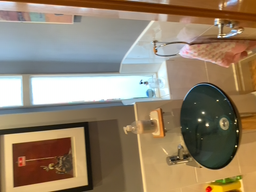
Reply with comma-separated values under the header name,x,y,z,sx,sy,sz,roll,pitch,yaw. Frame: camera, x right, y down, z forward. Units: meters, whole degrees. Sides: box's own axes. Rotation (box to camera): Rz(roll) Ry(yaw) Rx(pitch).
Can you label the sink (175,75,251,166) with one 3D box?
name,x,y,z,sx,sy,sz,roll,pitch,yaw
sink,0.460,0.140,1.210,0.290,0.180,0.450,144,120,-68
